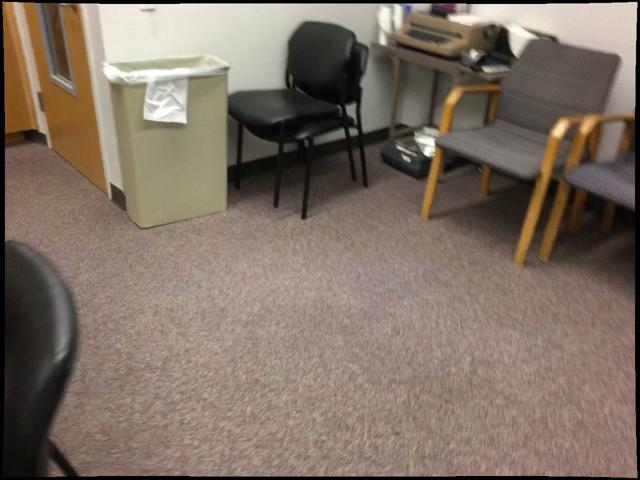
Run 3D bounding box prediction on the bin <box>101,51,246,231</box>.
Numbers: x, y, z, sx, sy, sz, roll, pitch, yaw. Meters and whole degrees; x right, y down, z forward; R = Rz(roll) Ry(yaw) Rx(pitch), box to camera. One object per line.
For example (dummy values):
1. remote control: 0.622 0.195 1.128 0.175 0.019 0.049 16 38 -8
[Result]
1. bin: -0.708 -0.471 2.710 0.499 0.701 0.370 -12 41 -36
